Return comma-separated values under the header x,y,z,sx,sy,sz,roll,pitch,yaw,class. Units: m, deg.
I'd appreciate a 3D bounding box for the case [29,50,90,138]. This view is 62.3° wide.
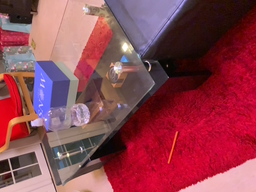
x,y,z,sx,sy,sz,roll,pitch,yaw,class
-0.350,-0.020,1.040,0.250,0.170,0.330,42,127,38,case
